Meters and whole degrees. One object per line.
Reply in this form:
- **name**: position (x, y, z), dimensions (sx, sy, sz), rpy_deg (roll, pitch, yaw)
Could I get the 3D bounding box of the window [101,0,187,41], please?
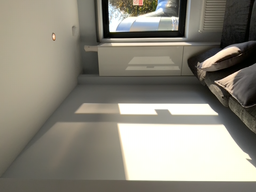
- **window**: position (0.240, -1.520, 3.330), dimensions (0.120, 1.330, 1.260), rpy_deg (-86, -4, -66)
